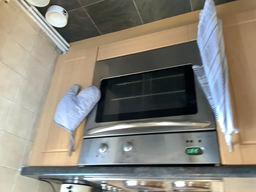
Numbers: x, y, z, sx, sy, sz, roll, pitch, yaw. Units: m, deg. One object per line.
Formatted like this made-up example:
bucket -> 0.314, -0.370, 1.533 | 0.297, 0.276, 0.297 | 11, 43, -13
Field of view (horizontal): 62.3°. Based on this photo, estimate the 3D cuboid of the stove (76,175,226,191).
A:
stove -> 0.160, 0.460, 1.060 | 0.600, 0.030, 0.580 | -8, 149, 20

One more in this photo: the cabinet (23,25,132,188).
cabinet -> -0.240, 0.100, 1.440 | 0.300, 0.900, 0.600 | -8, 149, 20
